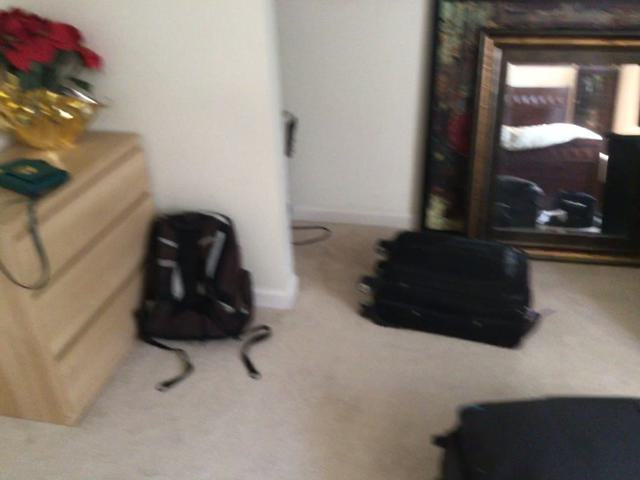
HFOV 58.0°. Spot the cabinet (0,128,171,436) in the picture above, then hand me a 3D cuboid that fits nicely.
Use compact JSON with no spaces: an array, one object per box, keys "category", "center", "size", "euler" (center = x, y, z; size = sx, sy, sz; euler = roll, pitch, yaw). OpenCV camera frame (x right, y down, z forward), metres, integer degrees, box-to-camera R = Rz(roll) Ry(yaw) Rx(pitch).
[{"category":"cabinet","center":[-0.870,0.090,1.920],"size":[0.450,0.750,0.690],"euler":[4,24,7]}]
